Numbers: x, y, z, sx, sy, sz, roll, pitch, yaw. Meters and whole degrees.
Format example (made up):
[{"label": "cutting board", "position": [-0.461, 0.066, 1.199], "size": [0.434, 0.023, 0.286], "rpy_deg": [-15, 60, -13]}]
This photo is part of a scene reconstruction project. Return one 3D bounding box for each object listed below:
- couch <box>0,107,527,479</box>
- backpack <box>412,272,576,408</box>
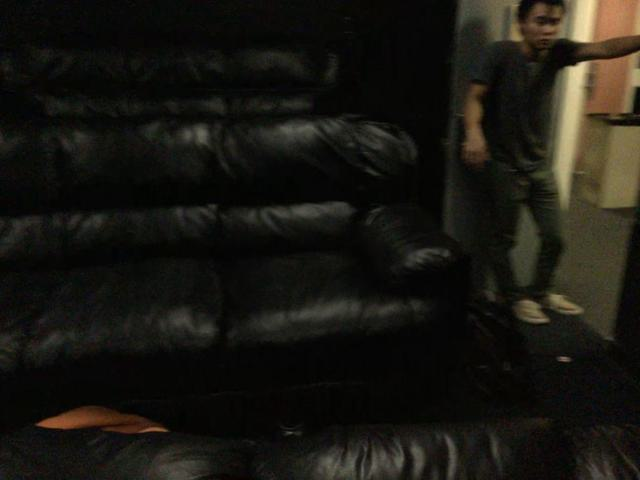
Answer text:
[{"label": "couch", "position": [-0.550, 0.080, 1.880], "size": [2.010, 0.920, 0.920], "rpy_deg": [0, 17, -6]}, {"label": "backpack", "position": [0.720, 0.410, 2.510], "size": [0.500, 0.400, 0.480], "rpy_deg": [0, 17, -6]}]
